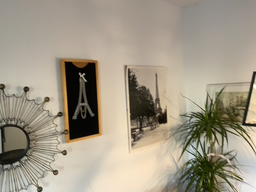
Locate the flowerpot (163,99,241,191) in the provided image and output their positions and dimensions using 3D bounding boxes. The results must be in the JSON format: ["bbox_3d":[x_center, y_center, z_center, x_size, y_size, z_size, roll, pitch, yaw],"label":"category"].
[{"bbox_3d":[0.670,0.720,1.890,0.520,1.350,0.400,-1,3,39],"label":"flowerpot"}]
